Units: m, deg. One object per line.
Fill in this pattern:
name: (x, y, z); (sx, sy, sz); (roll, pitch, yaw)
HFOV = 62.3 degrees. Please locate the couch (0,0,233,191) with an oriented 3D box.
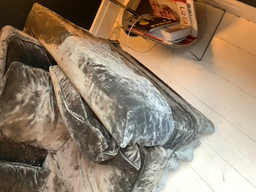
couch: (-0.480, 0.460, 1.370); (1.160, 0.800, 1.710); (43, 114, 36)
